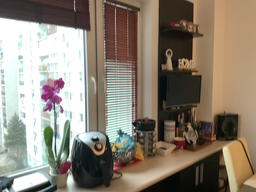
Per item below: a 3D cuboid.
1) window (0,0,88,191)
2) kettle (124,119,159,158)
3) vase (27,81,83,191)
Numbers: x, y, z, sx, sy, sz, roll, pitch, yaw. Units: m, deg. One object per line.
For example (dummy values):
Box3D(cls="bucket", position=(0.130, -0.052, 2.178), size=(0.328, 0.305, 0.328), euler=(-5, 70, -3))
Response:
Box3D(cls="window", position=(-0.660, -0.070, 1.390), size=(0.770, 1.430, 0.180), euler=(-4, 7, -39))
Box3D(cls="kettle", position=(0.120, 0.370, 1.920), size=(0.210, 0.270, 0.230), euler=(-4, 7, -39))
Box3D(cls="vase", position=(-0.510, 0.230, 1.460), size=(0.220, 0.650, 0.380), euler=(-4, 7, -41))
